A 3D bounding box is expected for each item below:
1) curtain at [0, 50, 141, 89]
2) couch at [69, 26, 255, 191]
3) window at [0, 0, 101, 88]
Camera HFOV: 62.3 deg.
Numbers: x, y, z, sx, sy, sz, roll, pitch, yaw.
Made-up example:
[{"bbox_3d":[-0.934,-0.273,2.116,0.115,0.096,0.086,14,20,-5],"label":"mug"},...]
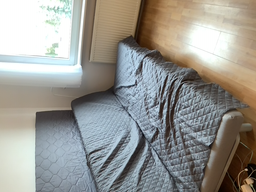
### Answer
[{"bbox_3d":[-1.110,-0.350,2.860,0.290,2.690,0.350,-125,42,-52],"label":"curtain"},{"bbox_3d":[0.030,0.100,2.270,2.150,0.910,1.120,-128,45,-54],"label":"couch"},{"bbox_3d":[-1.340,-0.950,2.620,0.150,1.930,1.750,-128,44,-53],"label":"window"}]
